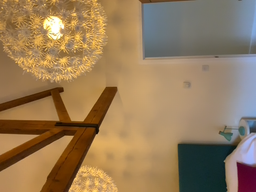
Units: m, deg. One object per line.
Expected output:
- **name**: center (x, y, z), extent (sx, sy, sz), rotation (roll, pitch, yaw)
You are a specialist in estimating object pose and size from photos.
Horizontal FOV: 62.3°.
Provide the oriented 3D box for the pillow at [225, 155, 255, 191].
- **pillow**: center (1.480, 1.040, 2.590), extent (0.460, 0.390, 0.150), rotation (-43, 15, -15)
